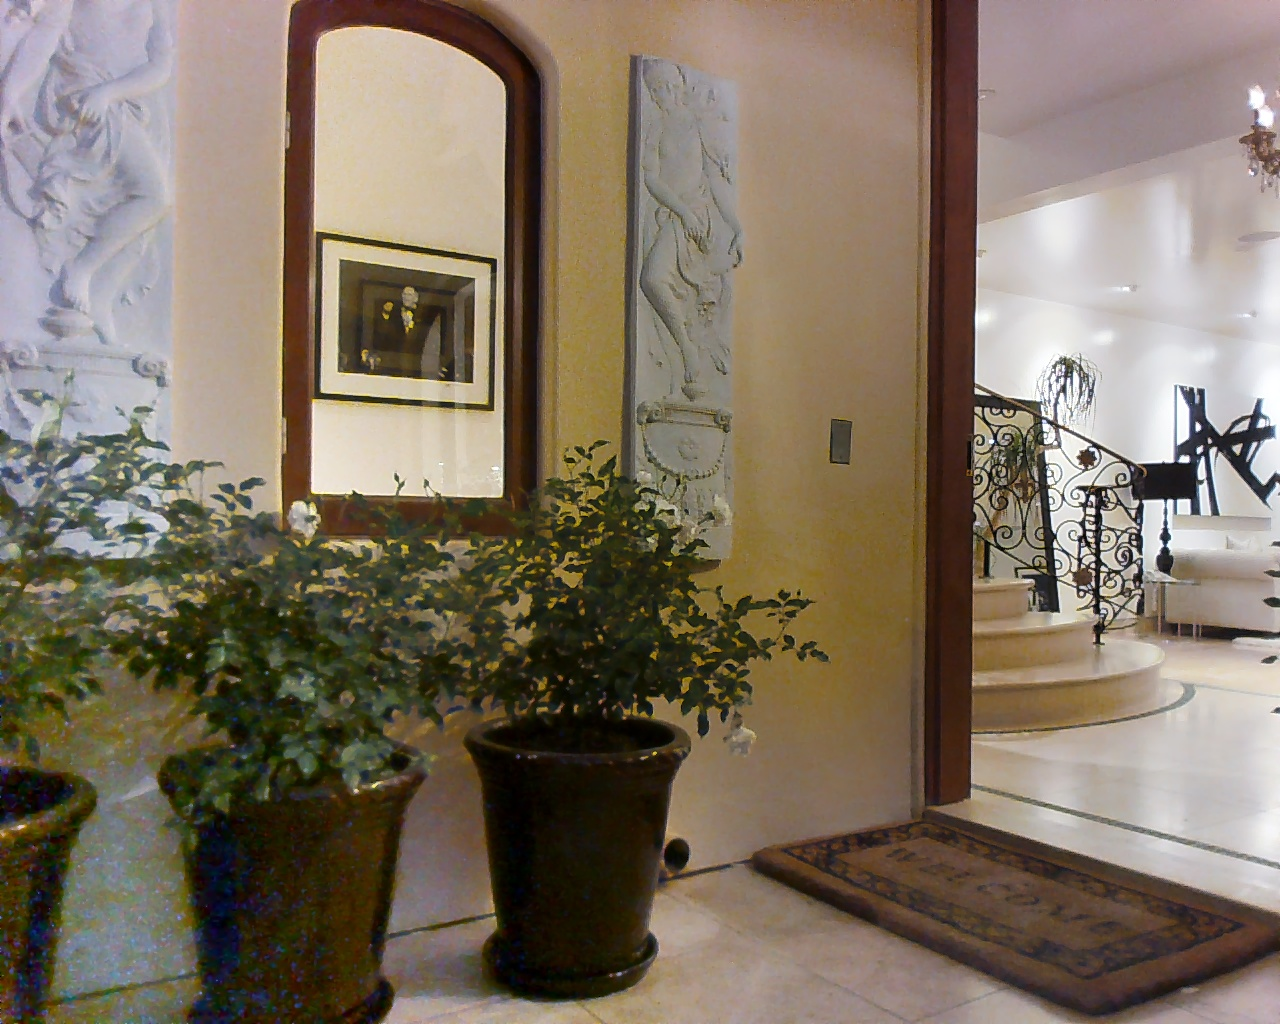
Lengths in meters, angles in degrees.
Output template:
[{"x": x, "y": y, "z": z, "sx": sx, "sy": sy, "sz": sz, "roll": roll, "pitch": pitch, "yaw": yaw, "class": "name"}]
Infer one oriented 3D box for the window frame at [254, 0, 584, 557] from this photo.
[{"x": -0.470, "y": -0.560, "z": 2.370, "sx": 0.690, "sy": 1.301, "sz": 0.160, "roll": 0, "pitch": 0, "yaw": -32, "class": "window frame"}]
